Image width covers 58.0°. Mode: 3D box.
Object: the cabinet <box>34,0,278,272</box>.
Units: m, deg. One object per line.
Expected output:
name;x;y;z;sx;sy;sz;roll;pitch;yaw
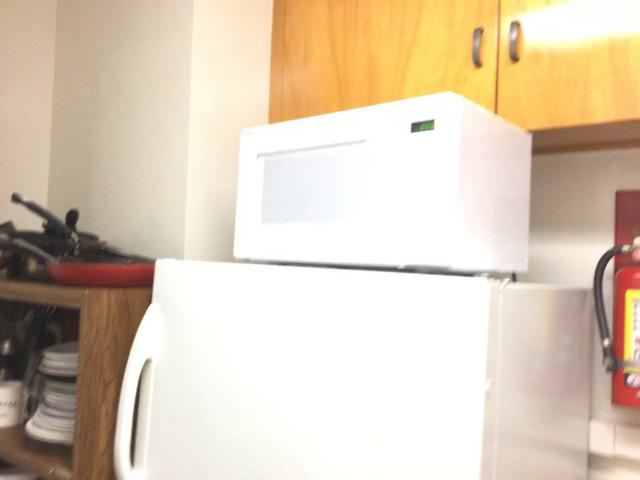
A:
cabinet;-0.500;-0.380;1.710;0.690;0.910;0.320;1;-1;37
